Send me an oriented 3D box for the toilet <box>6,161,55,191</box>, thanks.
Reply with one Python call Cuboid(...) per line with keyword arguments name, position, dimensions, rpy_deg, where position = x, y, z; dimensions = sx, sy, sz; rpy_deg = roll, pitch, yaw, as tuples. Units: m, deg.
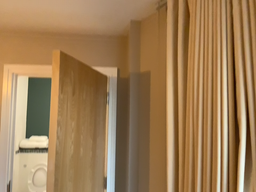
Cuboid(name="toilet", position=(-1.340, 1.410, 2.980), dimensions=(0.480, 0.820, 0.540), rpy_deg=(-1, -4, -7))
